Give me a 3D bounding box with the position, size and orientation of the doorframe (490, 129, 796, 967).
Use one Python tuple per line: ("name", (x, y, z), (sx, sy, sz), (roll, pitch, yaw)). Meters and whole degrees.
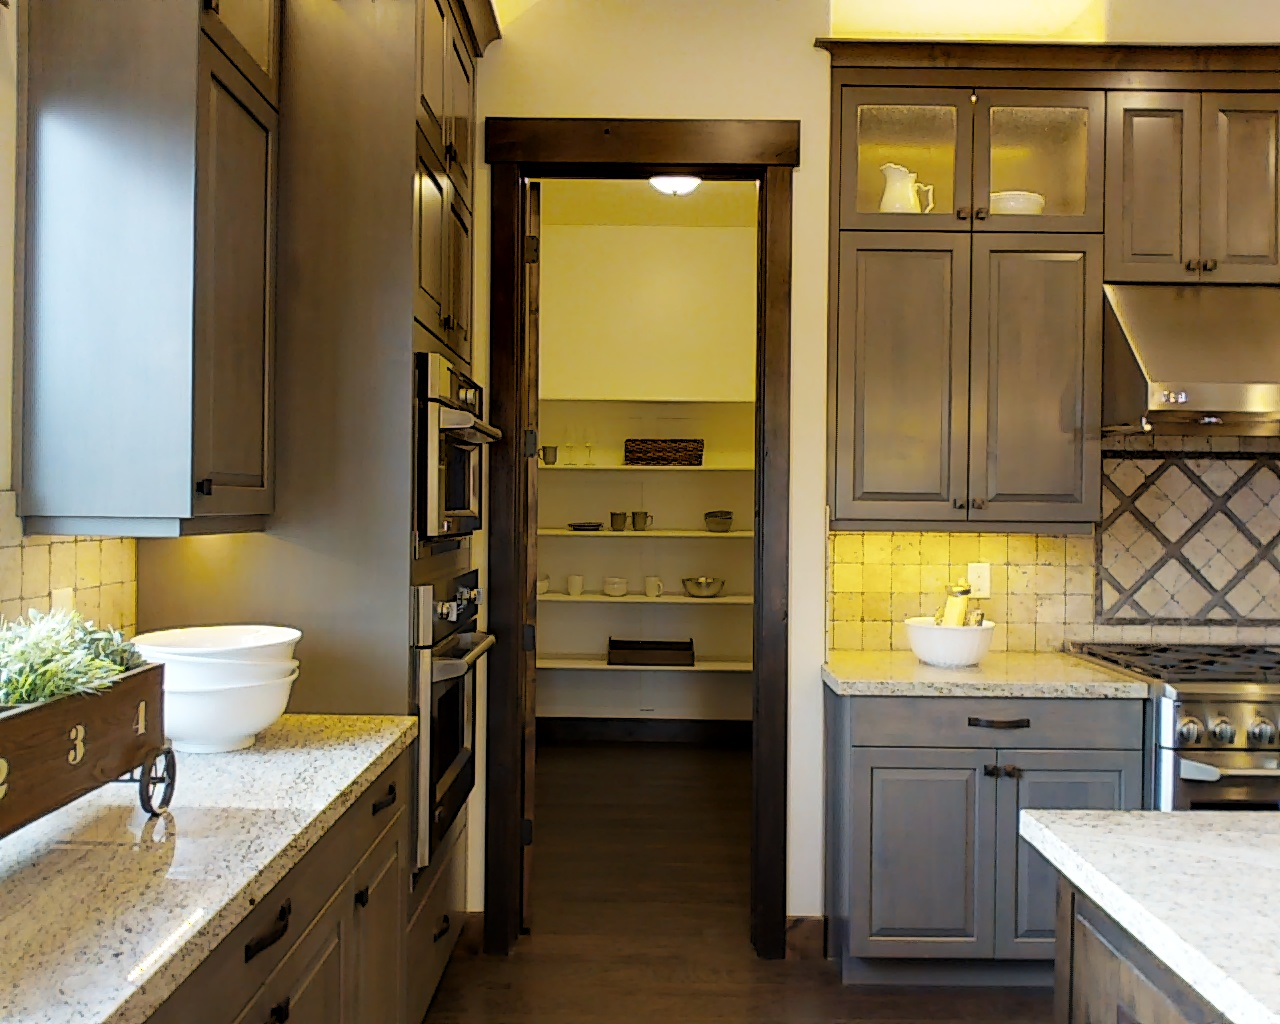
("doorframe", (0.010, 0.110, 3.420), (0.910, 2.550, 0.300), (1, 0, 0))
